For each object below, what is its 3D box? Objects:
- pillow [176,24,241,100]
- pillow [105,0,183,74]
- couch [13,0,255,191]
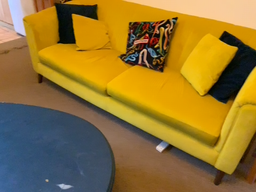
[{"bbox_3d":[0.530,-0.230,1.480,0.150,0.350,0.360,15,47,-20],"label":"pillow"},{"bbox_3d":[0.130,-0.490,1.830,0.190,0.500,0.460,-43,111,-45],"label":"pillow"},{"bbox_3d":[0.110,-0.310,1.870,1.970,0.790,1.010,26,40,27],"label":"couch"}]
